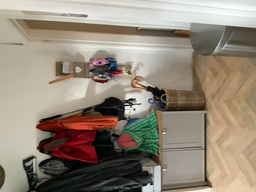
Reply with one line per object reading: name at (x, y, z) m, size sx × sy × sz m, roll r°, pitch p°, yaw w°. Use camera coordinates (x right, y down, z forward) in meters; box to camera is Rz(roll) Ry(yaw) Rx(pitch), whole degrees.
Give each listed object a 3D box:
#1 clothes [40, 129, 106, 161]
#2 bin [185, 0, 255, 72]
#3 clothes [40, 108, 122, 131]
clothes at (-0.620, 0.550, 2.440) m, size 0.300 × 0.690 × 0.260 m, roll 180°, pitch 90°, yaw -76°
bin at (0.830, -0.400, 1.550) m, size 0.340 × 0.710 × 0.390 m, roll 171°, pitch 99°, yaw -76°
clothes at (-0.530, 0.260, 2.480) m, size 0.220 × 0.900 × 0.230 m, roll 177°, pitch 93°, yaw -76°
